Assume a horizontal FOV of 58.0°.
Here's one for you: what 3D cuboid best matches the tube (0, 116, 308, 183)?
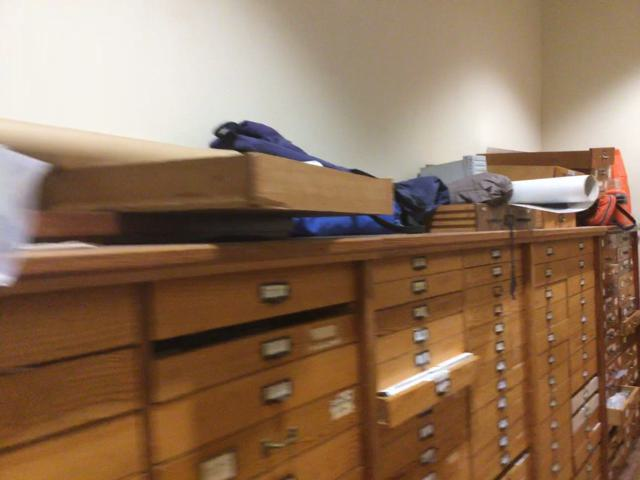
[{"bbox_3d":[-0.340,-0.180,1.280,0.080,0.100,1.030,-2,4,32],"label":"tube"}]
